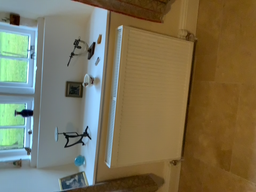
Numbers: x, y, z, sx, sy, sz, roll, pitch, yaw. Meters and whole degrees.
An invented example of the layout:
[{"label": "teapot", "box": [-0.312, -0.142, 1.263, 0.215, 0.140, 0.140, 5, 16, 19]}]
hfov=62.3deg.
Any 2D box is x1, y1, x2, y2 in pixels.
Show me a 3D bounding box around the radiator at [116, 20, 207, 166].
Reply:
[{"label": "radiator", "box": [0.260, 0.000, 1.520, 0.110, 0.640, 0.900, 12, 98, 58]}]
